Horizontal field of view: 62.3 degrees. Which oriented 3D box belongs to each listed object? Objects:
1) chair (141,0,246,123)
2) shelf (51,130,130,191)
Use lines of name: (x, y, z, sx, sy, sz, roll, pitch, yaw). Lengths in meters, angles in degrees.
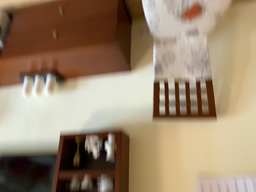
chair: (0.290, -0.390, 1.270, 0.400, 0.980, 0.530, -2, 156, 6)
shelf: (-0.210, 0.560, 1.200, 0.410, 0.680, 0.170, -6, 155, 16)
